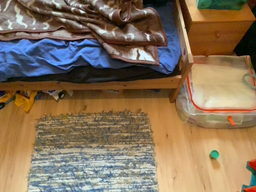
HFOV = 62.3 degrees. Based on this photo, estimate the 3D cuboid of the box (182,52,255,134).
[{"bbox_3d":[0.660,-0.030,1.500,0.510,0.170,0.490,9,61,1],"label":"box"}]
